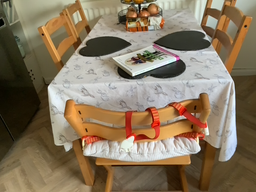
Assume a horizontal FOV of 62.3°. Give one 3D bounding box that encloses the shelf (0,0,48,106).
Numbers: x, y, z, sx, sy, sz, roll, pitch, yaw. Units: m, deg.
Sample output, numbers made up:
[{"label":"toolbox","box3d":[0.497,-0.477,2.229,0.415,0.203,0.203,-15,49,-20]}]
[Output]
[{"label":"shelf","box3d":[-1.200,-0.780,1.800,0.340,1.840,0.410,-1,34,7]}]
